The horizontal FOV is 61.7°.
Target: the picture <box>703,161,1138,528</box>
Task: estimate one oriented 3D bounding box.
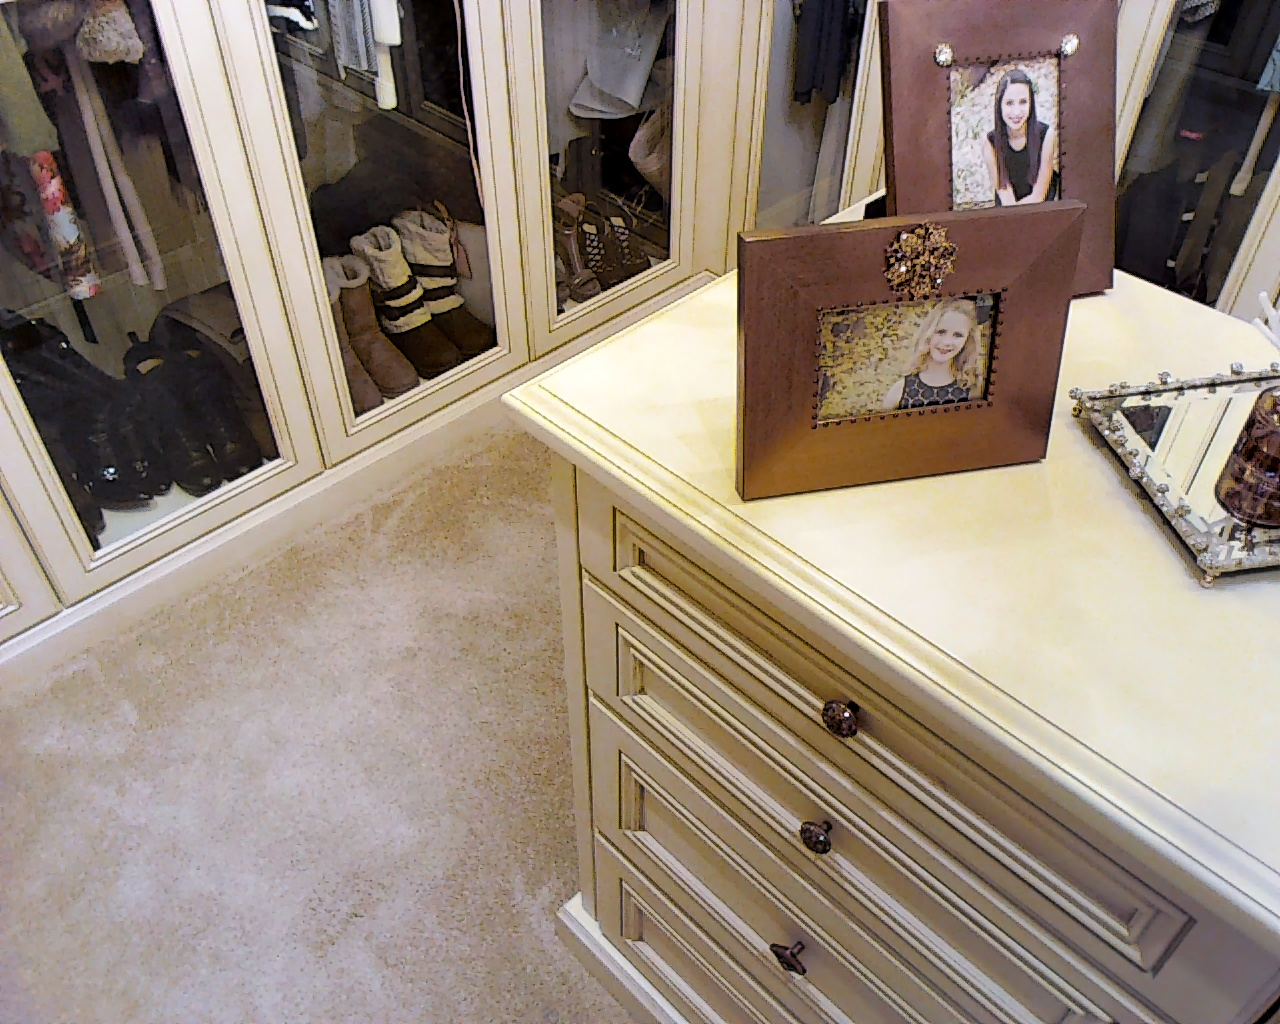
[{"bbox_3d":[0.200,-0.120,0.810,0.280,0.210,0.080,-15,48,-5],"label":"picture"}]
